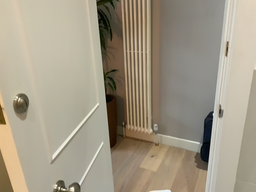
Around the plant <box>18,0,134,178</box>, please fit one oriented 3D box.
[{"bbox_3d":[-0.420,-0.160,2.230,0.660,1.720,0.760,8,24,25],"label":"plant"}]

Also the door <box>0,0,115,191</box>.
[{"bbox_3d":[-0.170,0.130,0.790,0.020,1.740,0.640,2,22,10],"label":"door"}]
